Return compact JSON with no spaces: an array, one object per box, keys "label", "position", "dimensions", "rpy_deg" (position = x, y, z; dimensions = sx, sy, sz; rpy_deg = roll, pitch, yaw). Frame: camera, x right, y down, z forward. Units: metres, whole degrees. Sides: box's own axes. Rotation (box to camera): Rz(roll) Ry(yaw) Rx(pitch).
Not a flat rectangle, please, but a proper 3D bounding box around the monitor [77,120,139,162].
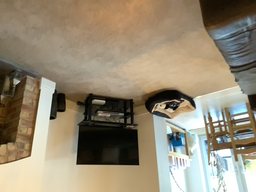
[{"label":"monitor","position":[-0.280,0.700,3.250],"dimensions":[0.950,0.590,0.050],"rpy_deg":[7,156,-23]}]
